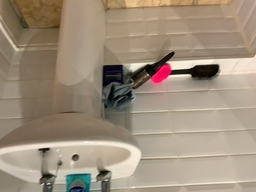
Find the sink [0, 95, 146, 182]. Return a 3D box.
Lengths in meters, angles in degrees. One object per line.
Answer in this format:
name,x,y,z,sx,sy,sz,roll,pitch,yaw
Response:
sink,-0.190,0.160,0.690,0.460,0.150,0.340,-3,149,-1
